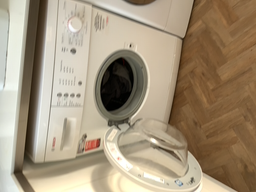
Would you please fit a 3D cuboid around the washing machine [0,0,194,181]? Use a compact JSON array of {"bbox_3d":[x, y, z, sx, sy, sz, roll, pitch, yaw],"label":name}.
[{"bbox_3d":[-0.230,-0.110,1.190,0.670,0.910,0.620,22,105,43],"label":"washing machine"}]
